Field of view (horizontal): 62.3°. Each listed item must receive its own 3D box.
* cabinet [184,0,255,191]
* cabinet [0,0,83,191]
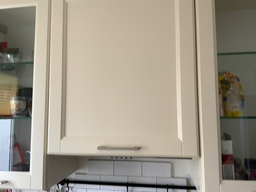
[{"bbox_3d":[0.520,-0.100,0.920,0.480,0.930,0.360,-1,-5,8],"label":"cabinet"},{"bbox_3d":[-0.860,-0.080,1.110,1.150,0.940,0.360,-1,-5,8],"label":"cabinet"}]
